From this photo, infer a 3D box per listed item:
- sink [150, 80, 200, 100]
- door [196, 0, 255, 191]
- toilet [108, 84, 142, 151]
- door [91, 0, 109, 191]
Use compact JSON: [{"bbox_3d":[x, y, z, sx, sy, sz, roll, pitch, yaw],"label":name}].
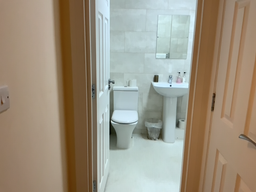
[{"bbox_3d":[0.650,-0.090,3.040,0.610,0.190,0.440,1,13,0],"label":"sink"},{"bbox_3d":[0.490,0.120,0.980,0.020,2.000,0.780,2,13,3],"label":"door"},{"bbox_3d":[-0.040,0.280,3.030,0.420,0.790,0.610,1,13,0],"label":"toilet"},{"bbox_3d":[-0.220,-0.080,1.810,0.020,2.000,0.720,2,13,2],"label":"door"}]
